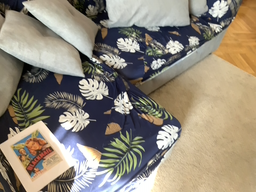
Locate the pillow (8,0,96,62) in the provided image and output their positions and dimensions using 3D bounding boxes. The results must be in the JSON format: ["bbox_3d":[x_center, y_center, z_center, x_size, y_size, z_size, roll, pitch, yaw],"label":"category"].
[{"bbox_3d":[-0.470,-0.540,1.480,0.390,0.320,0.490,9,46,1],"label":"pillow"}]

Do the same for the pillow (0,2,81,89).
[{"bbox_3d":[-0.540,-0.310,1.300,0.450,0.320,0.430,1,46,-7],"label":"pillow"}]

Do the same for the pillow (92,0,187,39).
[{"bbox_3d":[0.080,-0.810,1.760,0.700,0.520,0.310,1,53,-15],"label":"pillow"}]
